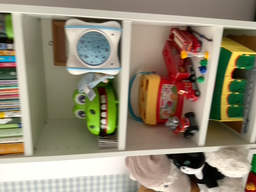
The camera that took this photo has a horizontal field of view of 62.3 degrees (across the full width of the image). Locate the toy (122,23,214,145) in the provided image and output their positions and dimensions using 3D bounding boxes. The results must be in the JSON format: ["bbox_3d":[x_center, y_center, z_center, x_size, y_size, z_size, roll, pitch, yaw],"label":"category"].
[{"bbox_3d":[0.110,-0.050,0.740,0.210,0.210,0.370,-123,36,-69],"label":"toy"}]
